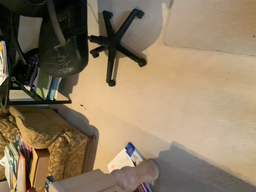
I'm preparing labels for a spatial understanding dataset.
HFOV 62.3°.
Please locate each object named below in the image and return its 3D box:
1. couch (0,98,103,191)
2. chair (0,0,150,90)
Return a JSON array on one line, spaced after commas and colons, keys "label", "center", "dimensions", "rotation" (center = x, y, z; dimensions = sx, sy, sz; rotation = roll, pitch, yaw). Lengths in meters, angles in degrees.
[{"label": "couch", "center": [-1.120, 1.180, 2.270], "dimensions": [1.110, 0.820, 2.070], "rotation": [23, 106, 41]}, {"label": "chair", "center": [-0.500, -0.460, 1.410], "dimensions": [0.670, 1.150, 0.770], "rotation": [-6, 87, 44]}]
